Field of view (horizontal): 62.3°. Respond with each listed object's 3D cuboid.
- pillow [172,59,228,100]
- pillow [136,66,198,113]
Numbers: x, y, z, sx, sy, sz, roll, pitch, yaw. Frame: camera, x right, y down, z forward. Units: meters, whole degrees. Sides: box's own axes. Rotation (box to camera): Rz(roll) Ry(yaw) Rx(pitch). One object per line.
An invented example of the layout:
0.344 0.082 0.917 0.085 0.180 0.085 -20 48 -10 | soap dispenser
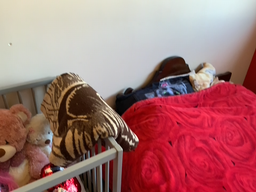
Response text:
0.590 -0.150 1.740 0.370 0.190 0.220 -18 37 -31 | pillow
0.280 -0.060 1.550 0.380 0.180 0.220 -17 37 -30 | pillow
